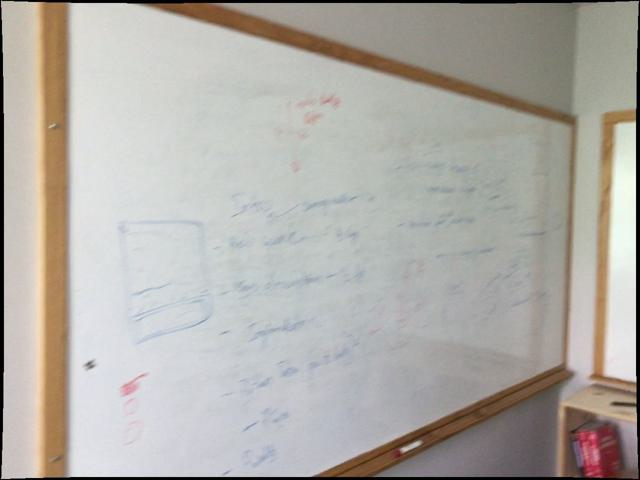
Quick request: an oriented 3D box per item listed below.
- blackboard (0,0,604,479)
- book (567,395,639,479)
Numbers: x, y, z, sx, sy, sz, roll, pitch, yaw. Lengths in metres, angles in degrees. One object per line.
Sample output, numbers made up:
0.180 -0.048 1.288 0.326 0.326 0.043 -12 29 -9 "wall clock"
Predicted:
0.319 0.060 1.790 2.477 1.373 0.100 -10 10 -42 "blackboard"
1.177 0.822 2.390 0.330 0.231 0.160 -10 10 -42 "book"
